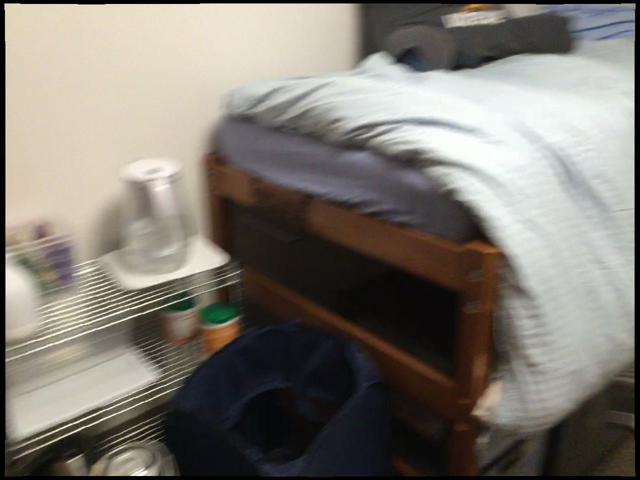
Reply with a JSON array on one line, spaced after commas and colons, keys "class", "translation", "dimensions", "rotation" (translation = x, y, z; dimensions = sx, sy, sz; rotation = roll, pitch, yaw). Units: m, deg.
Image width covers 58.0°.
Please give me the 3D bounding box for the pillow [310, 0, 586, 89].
[{"class": "pillow", "translation": [0.459, -0.802, 1.940], "dimensions": [0.899, 0.421, 0.470], "rotation": [-21, 30, -38]}]
